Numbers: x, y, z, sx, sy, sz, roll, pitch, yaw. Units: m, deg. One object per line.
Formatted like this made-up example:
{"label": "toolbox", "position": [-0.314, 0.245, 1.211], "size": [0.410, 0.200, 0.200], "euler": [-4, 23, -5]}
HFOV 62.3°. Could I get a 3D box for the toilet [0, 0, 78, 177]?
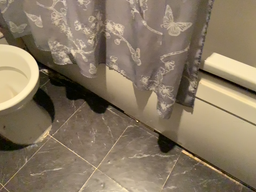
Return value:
{"label": "toilet", "position": [-0.670, -0.130, 0.900], "size": [0.680, 0.760, 0.390], "euler": [28, 58, 19]}
